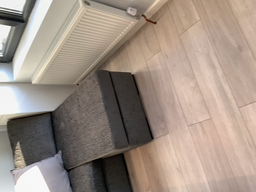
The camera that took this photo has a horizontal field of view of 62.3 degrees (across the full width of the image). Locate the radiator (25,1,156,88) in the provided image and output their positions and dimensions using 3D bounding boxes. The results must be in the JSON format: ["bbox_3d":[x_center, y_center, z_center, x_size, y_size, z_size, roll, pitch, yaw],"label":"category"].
[{"bbox_3d":[-0.450,-0.360,2.070,1.360,0.700,0.080,-28,70,46],"label":"radiator"}]
